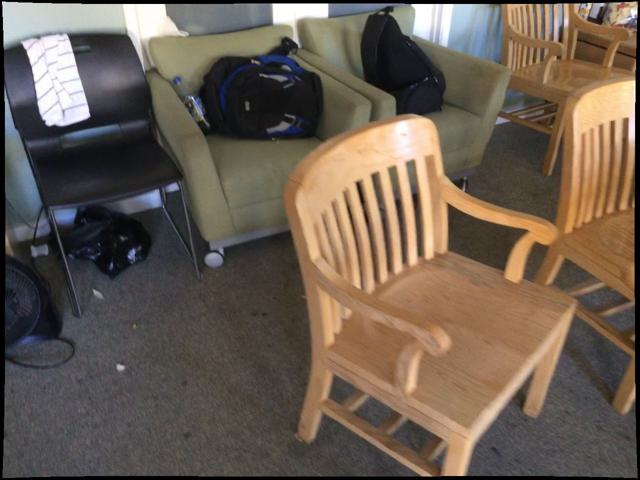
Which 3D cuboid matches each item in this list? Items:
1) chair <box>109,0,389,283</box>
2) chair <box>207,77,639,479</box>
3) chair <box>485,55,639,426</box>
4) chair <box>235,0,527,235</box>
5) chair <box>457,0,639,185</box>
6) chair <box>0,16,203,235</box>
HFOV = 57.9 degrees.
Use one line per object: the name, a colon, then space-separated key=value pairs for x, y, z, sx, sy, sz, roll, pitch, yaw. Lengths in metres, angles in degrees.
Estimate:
chair: x=-0.300 y=-0.480 z=2.440 sx=0.789 sy=0.781 sz=0.820 roll=-20 pitch=41 yaw=-24
chair: x=0.260 y=0.160 z=1.520 sx=0.700 sy=0.811 sz=0.780 roll=-27 pitch=44 yaw=-31
chair: x=1.009 y=-0.030 z=1.760 sx=0.560 sy=0.811 sz=0.650 roll=-20 pitch=41 yaw=-24
chair: x=0.240 y=-0.661 z=2.690 sx=0.949 sy=0.710 sz=0.820 roll=-20 pitch=41 yaw=-24
chair: x=1.249 y=-0.921 z=2.950 sx=0.690 sy=0.941 sz=0.650 roll=-20 pitch=41 yaw=-24
chair: x=-0.819 y=-0.450 z=2.100 sx=0.520 sy=0.470 sz=0.650 roll=-20 pitch=41 yaw=-24
